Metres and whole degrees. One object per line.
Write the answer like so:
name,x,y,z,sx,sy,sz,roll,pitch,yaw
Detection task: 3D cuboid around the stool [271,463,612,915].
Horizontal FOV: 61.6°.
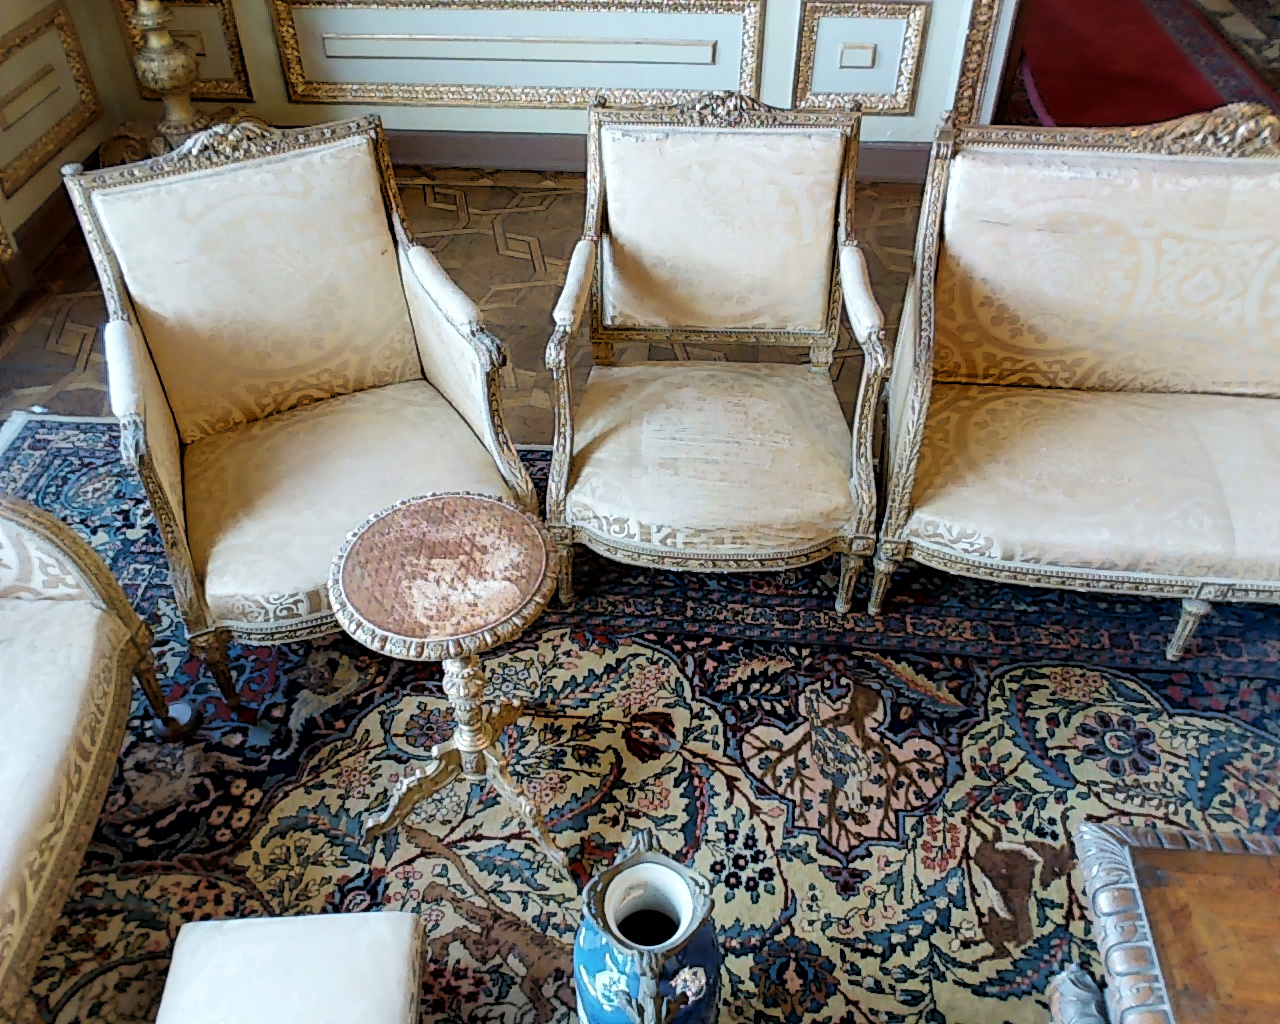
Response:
stool,-0.280,0.310,1.820,0.400,0.650,0.420,3,43,4
